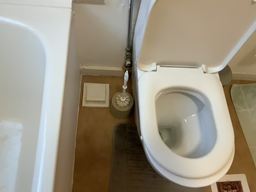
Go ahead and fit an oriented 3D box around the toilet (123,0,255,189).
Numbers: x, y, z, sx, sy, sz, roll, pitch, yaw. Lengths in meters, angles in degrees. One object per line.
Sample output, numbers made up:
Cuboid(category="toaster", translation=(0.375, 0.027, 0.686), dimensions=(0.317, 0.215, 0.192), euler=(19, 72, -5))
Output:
Cuboid(category="toilet", translation=(0.220, -0.020, 0.820), dimensions=(0.370, 0.870, 0.670), euler=(2, 65, -8))
